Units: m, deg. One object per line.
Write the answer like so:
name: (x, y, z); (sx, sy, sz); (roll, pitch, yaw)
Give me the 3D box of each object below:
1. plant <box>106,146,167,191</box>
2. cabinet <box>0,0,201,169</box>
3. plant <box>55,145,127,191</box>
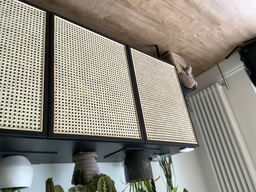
plant: (0.050, 0.490, 1.210); (0.220, 0.350, 0.220); (13, 146, -39)
cabinet: (-0.320, -0.090, 1.250); (1.530, 0.880, 0.460); (12, 146, -39)
plant: (-0.200, 0.410, 1.110); (0.270, 0.240, 0.230); (13, 146, -39)
